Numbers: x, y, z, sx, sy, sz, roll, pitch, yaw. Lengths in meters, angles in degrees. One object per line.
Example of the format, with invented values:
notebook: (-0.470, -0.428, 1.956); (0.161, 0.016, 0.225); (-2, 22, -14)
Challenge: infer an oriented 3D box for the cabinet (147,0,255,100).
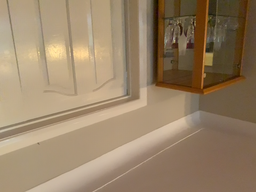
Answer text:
cabinet: (0.560, -1.020, 1.520); (0.750, 1.930, 0.470); (-16, -159, -40)
